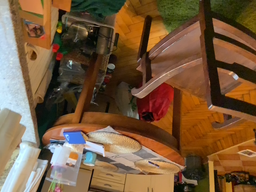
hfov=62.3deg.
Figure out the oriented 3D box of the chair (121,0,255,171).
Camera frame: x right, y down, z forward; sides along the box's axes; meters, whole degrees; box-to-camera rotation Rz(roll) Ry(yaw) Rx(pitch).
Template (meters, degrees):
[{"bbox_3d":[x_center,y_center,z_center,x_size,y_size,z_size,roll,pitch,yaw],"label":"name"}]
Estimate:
[{"bbox_3d":[0.400,-0.170,1.120,0.540,0.910,0.570,22,147,-19],"label":"chair"}]
